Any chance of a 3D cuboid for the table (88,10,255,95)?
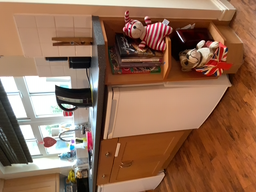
[{"bbox_3d":[0.250,-0.260,1.260,0.300,0.930,0.340,104,157,-49],"label":"table"}]
